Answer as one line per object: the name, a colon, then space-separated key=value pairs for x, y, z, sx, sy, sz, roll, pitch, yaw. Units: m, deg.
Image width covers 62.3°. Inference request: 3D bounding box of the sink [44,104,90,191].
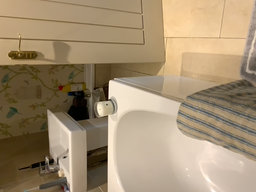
sink: x=-0.440 y=0.330 z=1.480 sx=0.520 sy=0.130 sz=0.430 roll=20 pitch=113 yaw=53
